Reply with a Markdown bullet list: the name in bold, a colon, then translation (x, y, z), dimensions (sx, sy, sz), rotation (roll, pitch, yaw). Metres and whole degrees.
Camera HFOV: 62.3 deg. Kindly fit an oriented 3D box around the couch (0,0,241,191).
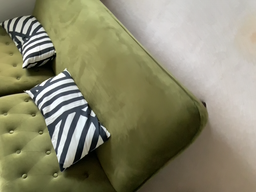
- **couch**: translation (-0.430, -0.170, 1.310), dimensions (1.680, 0.770, 0.920), rotation (53, 124, 31)
